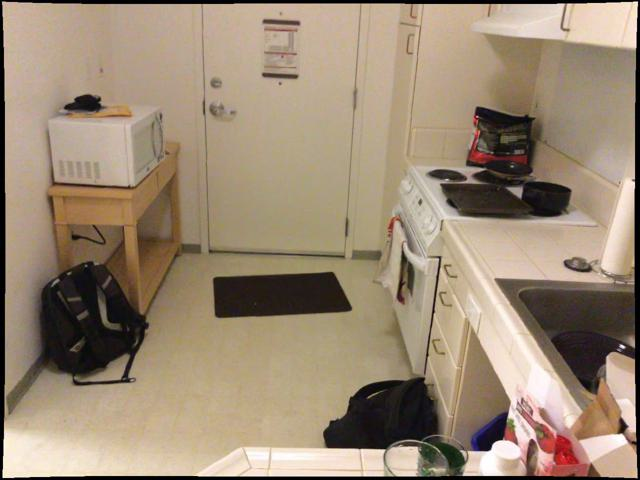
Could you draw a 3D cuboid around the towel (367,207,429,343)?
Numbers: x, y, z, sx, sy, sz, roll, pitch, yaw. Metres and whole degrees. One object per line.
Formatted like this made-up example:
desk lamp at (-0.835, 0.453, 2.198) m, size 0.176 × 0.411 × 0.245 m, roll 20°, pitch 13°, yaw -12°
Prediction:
towel at (0.320, 0.130, 2.500) m, size 0.140 × 0.370 × 0.550 m, roll 3°, pitch 23°, yaw -3°
